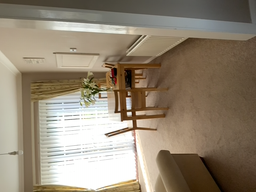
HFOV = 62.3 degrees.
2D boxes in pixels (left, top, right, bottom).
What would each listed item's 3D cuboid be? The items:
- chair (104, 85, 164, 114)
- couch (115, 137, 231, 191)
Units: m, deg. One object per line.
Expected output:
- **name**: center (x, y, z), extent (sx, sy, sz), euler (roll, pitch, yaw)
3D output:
- **chair**: center (0.080, 0.060, 3.440), extent (0.460, 0.830, 0.400), euler (160, 107, -71)
- **couch**: center (0.420, 1.260, 2.420), extent (0.930, 0.870, 1.170), euler (-113, 27, -48)
